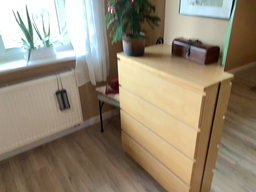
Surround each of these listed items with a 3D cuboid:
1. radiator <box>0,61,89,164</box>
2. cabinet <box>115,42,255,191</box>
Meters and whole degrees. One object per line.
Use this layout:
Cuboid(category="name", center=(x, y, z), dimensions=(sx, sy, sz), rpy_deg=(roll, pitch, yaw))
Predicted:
Cuboid(category="radiator", center=(-1.050, 0.180, 2.000), dimensions=(1.280, 0.710, 0.280), rpy_deg=(-20, 33, -31))
Cuboid(category="cabinet", center=(0.350, 0.190, 1.710), dimensions=(0.500, 1.010, 0.840), rpy_deg=(-18, 32, -29))
